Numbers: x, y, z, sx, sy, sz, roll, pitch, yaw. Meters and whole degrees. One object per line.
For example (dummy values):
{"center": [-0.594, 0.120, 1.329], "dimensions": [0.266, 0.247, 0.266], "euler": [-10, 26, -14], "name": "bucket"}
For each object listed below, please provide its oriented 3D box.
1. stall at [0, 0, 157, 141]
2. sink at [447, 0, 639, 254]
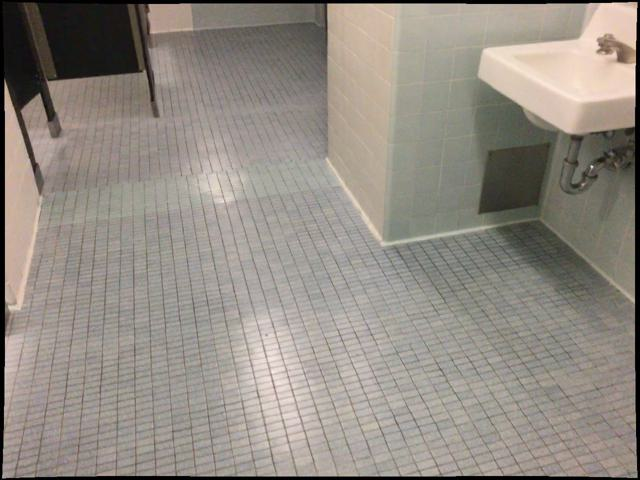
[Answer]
{"center": [-1.347, -1.173, 3.200], "dimensions": [0.639, 1.122, 0.290], "euler": [-11, 35, -13], "name": "stall"}
{"center": [0.798, -0.401, 1.880], "dimensions": [0.469, 0.571, 0.610], "euler": [-11, 35, -13], "name": "sink"}
